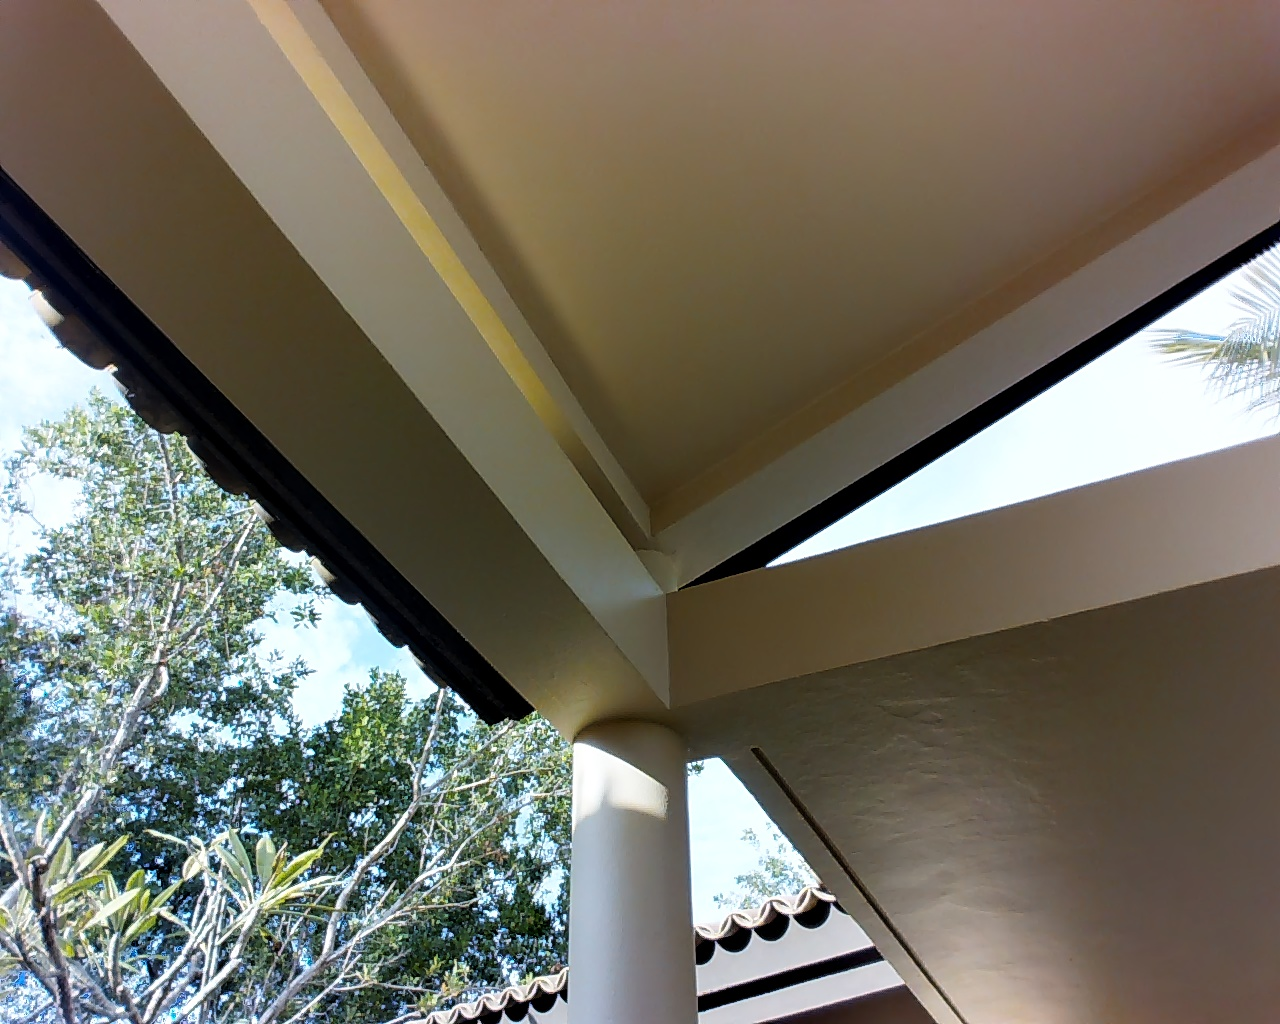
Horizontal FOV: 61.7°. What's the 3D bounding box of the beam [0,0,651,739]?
[{"bbox_3d":[-0.500,-0.350,1.620,0.290,0.470,1.990,-16,-43,16],"label":"beam"}]
